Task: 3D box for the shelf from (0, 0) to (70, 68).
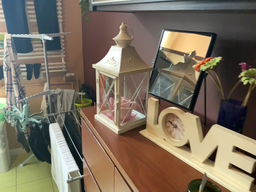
[{"bbox_3d":[-0.960,-0.990,2.080,0.660,1.370,0.160,-8,23,-24],"label":"shelf"}]
